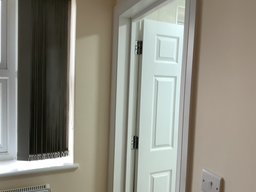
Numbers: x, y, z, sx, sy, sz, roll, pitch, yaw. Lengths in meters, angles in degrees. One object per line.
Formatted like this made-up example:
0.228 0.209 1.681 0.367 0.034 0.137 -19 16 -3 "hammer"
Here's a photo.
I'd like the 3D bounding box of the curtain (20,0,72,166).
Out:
-0.590 -0.120 1.530 0.330 1.200 0.110 0 5 -24 "curtain"
